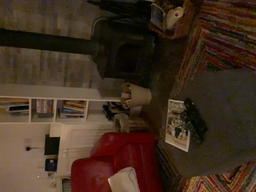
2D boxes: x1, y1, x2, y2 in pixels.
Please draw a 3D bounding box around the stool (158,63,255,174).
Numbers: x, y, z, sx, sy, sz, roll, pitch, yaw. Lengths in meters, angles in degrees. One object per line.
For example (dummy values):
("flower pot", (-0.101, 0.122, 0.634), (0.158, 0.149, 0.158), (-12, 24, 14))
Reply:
("stool", (0.530, 0.170, 1.330), (0.600, 0.360, 0.410), (119, 145, -48))
